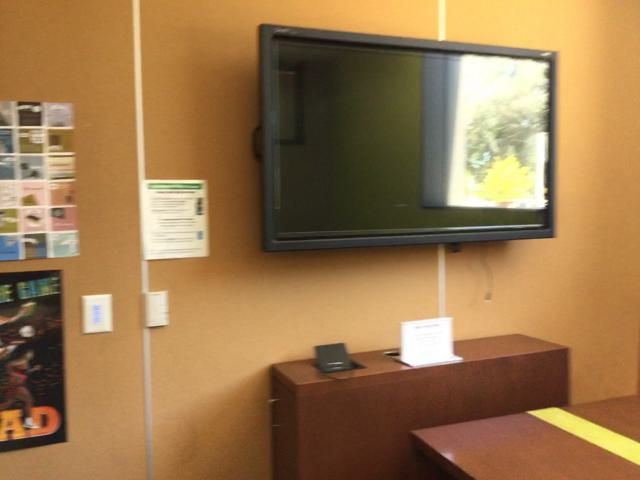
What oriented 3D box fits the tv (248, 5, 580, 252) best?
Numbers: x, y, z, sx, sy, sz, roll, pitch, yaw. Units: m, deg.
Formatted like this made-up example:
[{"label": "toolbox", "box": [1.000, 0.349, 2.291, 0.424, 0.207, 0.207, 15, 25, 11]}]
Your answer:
[{"label": "tv", "box": [0.380, -0.390, 2.190, 1.230, 0.800, 0.240, -3, -1, -20]}]
